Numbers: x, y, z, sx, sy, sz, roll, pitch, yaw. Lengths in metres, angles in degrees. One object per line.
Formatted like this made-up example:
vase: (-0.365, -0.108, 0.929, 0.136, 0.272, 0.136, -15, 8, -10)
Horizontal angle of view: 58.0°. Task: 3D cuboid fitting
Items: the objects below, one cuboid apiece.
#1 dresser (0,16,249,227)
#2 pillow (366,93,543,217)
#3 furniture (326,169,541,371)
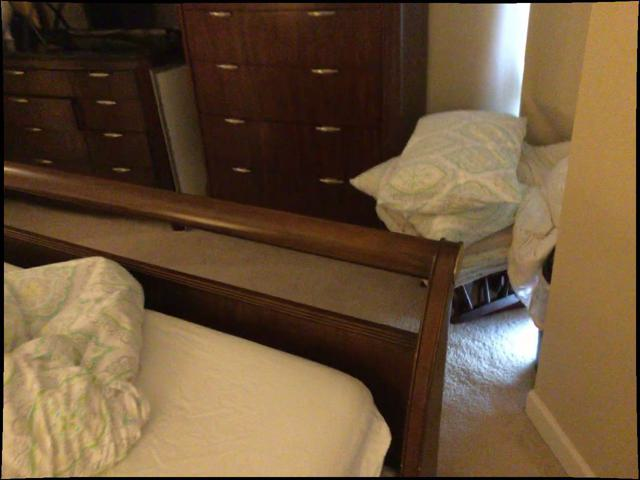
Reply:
dresser: (-1.496, -0.722, 3.430, 1.876, 0.942, 0.740, 3, 32, 15)
pillow: (0.509, -0.341, 2.080, 0.489, 0.160, 0.670, 8, 34, 21)
furniture: (0.449, 0.080, 2.240, 0.649, 0.461, 0.520, 11, 35, 26)
